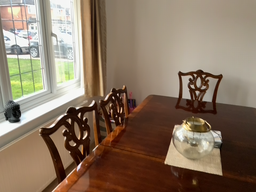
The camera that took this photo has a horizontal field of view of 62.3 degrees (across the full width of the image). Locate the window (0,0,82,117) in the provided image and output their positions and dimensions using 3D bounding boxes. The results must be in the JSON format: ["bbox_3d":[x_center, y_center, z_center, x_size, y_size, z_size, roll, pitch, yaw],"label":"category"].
[{"bbox_3d":[-1.020,-0.470,1.750,0.110,1.210,2.040,8,19,19],"label":"window"}]

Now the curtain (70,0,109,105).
[{"bbox_3d":[-0.400,-0.700,2.320,0.190,1.510,0.450,8,19,19],"label":"curtain"}]
